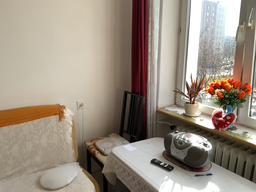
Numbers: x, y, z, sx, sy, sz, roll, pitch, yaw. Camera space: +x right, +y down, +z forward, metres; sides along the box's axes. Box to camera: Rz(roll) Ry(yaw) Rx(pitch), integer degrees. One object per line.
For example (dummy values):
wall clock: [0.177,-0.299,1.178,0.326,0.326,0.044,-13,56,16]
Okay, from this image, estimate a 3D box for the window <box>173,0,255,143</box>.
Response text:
window: [1.020,-0.510,1.760,0.080,1.790,1.490,-10,17,-36]
